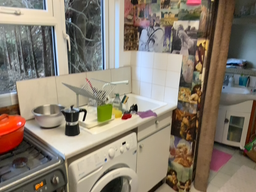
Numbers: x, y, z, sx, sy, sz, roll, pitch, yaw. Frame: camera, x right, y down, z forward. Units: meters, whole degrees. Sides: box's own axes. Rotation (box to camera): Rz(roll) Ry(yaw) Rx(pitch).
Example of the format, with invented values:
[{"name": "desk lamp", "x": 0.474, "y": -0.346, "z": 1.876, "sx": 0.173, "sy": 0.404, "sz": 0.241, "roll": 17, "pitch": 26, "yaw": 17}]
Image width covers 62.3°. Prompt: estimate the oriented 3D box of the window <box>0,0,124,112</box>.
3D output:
[{"name": "window", "x": -0.550, "y": -0.500, "z": 1.730, "sx": 0.160, "sy": 1.030, "sz": 1.320, "roll": 16, "pitch": 21, "yaw": 40}]
